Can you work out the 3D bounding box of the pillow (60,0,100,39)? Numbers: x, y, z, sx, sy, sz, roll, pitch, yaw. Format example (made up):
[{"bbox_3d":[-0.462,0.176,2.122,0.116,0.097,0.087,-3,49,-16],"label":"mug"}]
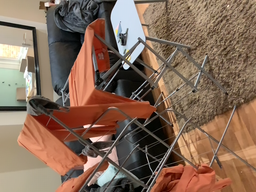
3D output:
[{"bbox_3d":[-0.610,-0.990,2.660,0.130,0.290,0.570,51,133,11],"label":"pillow"}]
